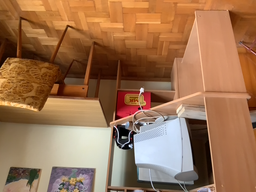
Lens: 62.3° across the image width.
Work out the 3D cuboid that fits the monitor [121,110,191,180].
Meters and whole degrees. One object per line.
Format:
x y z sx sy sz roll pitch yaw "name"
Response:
0.230 0.380 1.580 0.430 0.400 0.420 -4 152 15 "monitor"
